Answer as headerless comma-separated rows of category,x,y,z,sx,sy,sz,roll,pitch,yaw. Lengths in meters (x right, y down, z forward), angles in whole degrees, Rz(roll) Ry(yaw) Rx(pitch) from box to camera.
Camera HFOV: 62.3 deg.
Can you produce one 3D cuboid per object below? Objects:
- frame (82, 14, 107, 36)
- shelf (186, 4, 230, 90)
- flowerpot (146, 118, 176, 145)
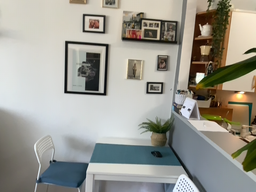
frame,-0.340,-0.720,2.150,0.230,0.190,0.020,4,7,-4
shelf,0.770,-0.460,2.090,0.220,0.760,0.290,4,7,-3
flowerpot,0.340,0.370,2.240,0.270,0.220,0.170,5,7,2
